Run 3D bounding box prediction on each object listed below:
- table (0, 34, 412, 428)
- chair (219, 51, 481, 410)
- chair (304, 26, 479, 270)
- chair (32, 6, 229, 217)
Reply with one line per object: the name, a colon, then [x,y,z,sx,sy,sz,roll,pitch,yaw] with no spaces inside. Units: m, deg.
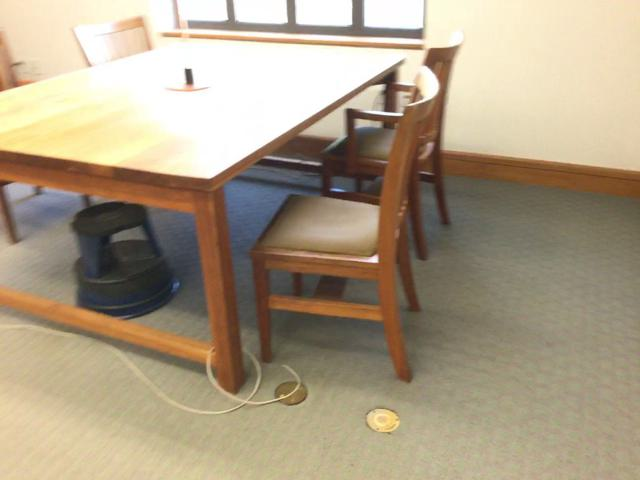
table: [-0.550,-0.310,2.540,1.400,0.950,1.750,12,25,20]
chair: [0.110,-0.090,1.980,0.630,0.970,0.640,12,25,20]
chair: [0.320,-0.450,2.610,0.560,0.920,0.590,12,25,20]
chair: [-0.950,-0.730,3.100,0.620,0.940,0.710,12,25,20]
